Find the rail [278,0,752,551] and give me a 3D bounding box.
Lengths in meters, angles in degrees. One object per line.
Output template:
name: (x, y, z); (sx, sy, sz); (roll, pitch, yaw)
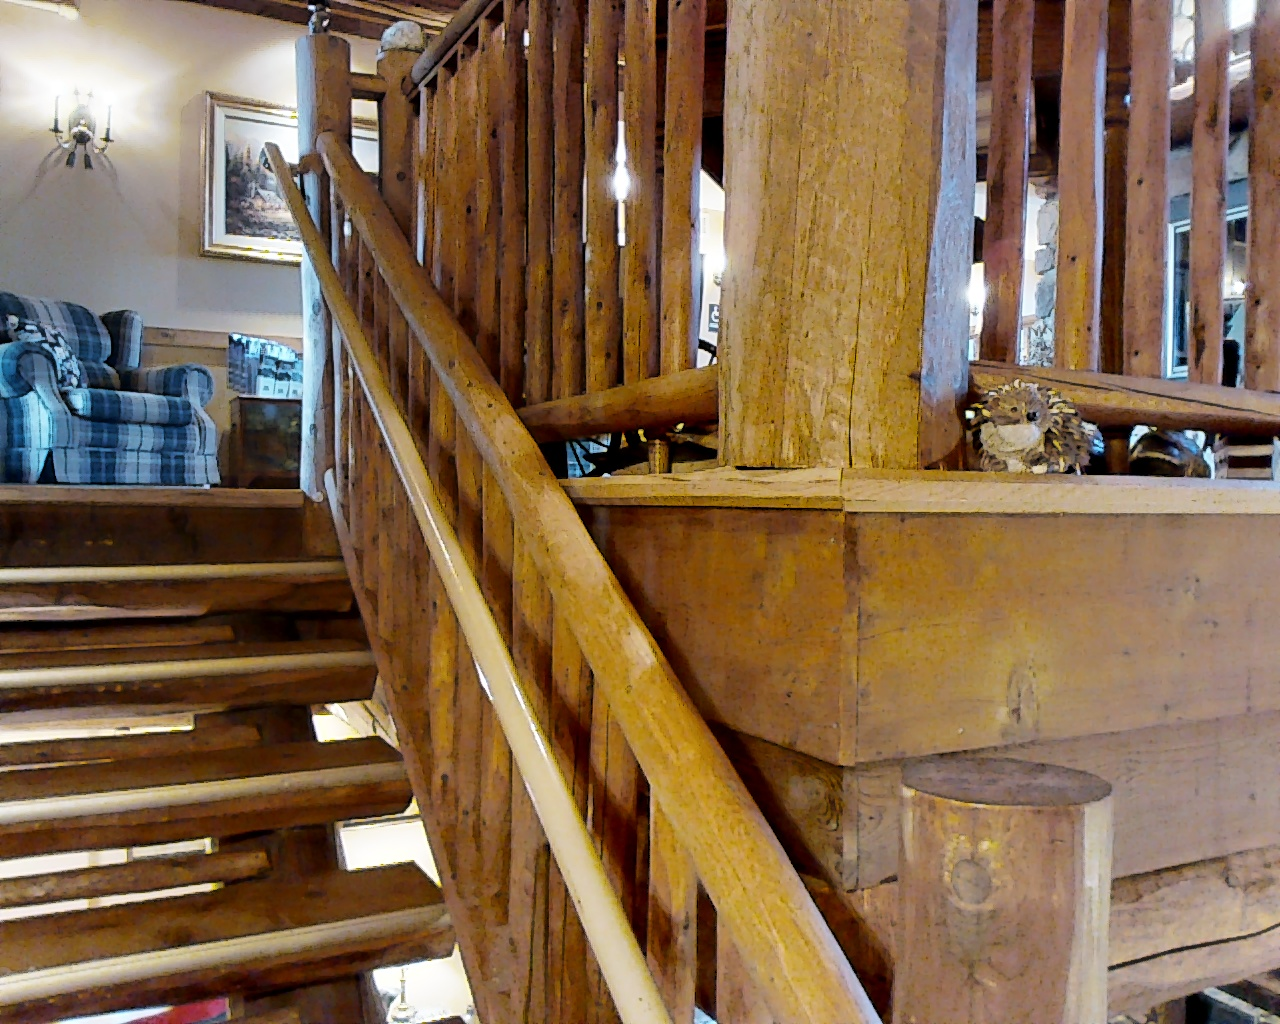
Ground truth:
rail: (-0.390, -0.430, 2.140); (0.370, 0.940, 1.640); (0, 0, -28)
